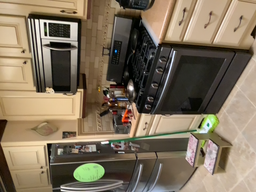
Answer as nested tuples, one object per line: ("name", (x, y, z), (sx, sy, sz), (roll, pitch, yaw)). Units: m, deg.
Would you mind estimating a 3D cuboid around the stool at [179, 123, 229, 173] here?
("stool", (0.840, 0.570, 2.400), (0.380, 0.300, 0.410), (-130, 43, -67))
